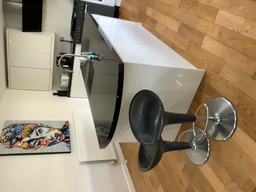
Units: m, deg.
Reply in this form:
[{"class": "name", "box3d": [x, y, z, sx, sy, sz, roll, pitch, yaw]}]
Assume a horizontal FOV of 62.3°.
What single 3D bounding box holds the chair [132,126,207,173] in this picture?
[{"class": "chair", "box3d": [0.390, 0.520, 2.080, 0.340, 0.570, 0.350, 127, 140, -55]}]
